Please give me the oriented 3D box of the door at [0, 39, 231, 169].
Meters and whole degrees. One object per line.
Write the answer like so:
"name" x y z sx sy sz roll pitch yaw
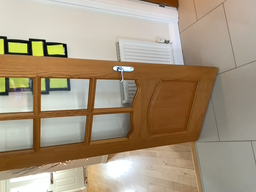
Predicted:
"door" -0.120 0.050 1.600 0.140 2.150 0.790 42 128 53
